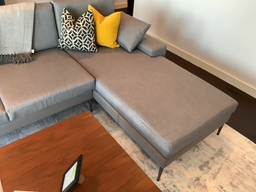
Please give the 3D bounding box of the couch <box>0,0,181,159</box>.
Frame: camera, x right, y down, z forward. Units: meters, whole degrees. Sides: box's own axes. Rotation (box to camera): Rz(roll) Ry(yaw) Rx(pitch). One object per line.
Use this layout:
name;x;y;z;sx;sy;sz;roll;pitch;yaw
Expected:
couch;-0.910;-0.210;1.780;2.750;0.820;0.910;-23;47;-31

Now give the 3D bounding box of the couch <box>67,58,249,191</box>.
couch;0.220;0.190;1.760;1.080;0.410;0.900;-23;47;-31
